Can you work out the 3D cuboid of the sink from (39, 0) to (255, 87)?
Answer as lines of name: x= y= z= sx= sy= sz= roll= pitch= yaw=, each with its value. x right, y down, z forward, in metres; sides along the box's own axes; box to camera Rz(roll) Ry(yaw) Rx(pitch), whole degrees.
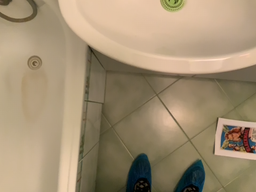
sink: x=0.110 y=-0.240 z=0.480 sx=0.500 sy=0.200 sz=0.380 roll=5 pitch=88 yaw=1

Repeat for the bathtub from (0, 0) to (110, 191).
bathtub: x=-0.510 y=0.360 z=0.940 sx=0.700 sy=0.570 sz=1.640 roll=4 pitch=88 yaw=1
